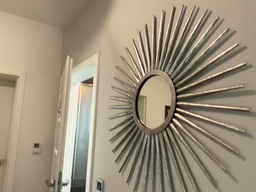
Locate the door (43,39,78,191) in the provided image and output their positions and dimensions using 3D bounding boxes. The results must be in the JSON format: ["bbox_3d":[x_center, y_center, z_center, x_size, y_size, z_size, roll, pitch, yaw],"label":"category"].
[{"bbox_3d":[-0.660,0.720,1.860,0.070,2.160,1.050,6,-10,-23],"label":"door"}]
